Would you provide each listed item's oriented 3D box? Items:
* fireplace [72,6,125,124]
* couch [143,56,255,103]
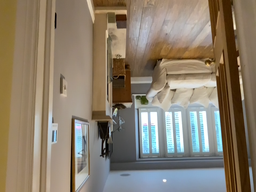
[{"bbox_3d":[-0.340,-0.250,3.110,0.530,1.270,1.680,-2,172,-1],"label":"fireplace"},{"bbox_3d":[1.590,-0.330,4.650,2.390,0.810,0.930,-1,172,-2],"label":"couch"}]
